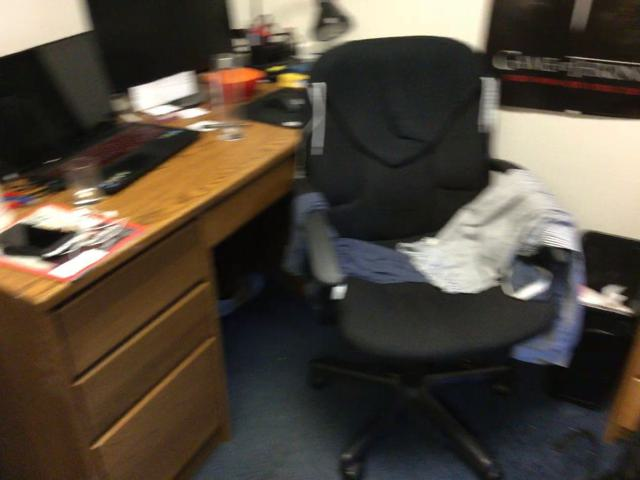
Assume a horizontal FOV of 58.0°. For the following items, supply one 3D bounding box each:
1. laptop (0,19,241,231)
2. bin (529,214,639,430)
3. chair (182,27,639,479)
[{"bbox_3d":[-0.610,-0.340,1.430,0.500,0.290,0.670,14,32,26],"label":"laptop"},{"bbox_3d":[0.830,0.220,1.730,0.240,0.400,0.480,13,32,26],"label":"bin"},{"bbox_3d":[0.270,0.050,1.490,0.800,1.000,0.750,13,32,26],"label":"chair"}]
